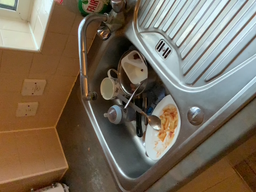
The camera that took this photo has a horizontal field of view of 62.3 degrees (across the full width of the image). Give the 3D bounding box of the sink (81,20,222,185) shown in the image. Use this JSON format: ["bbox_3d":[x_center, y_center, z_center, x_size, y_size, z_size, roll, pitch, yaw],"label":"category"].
[{"bbox_3d":[0.030,0.020,0.750,0.360,0.150,0.410,-56,52,35],"label":"sink"}]
